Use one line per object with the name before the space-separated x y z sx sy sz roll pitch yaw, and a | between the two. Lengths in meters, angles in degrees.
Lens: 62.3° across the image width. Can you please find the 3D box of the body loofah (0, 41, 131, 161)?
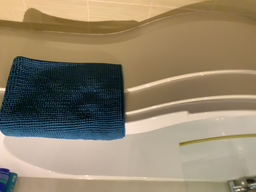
body loofah | -0.270 0.040 0.960 0.510 0.370 0.350 4 143 -7
